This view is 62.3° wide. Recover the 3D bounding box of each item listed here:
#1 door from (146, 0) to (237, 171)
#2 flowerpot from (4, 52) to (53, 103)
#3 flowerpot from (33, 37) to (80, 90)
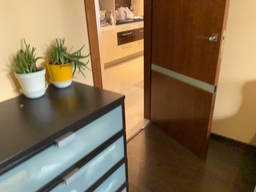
[{"bbox_3d":[0.440,-0.490,1.790,0.040,2.180,0.900,-15,27,-28],"label":"door"},{"bbox_3d":[-0.510,-0.100,1.100,0.140,0.210,0.140,16,30,35],"label":"flowerpot"},{"bbox_3d":[-0.400,-0.190,1.210,0.140,0.250,0.170,16,30,35],"label":"flowerpot"}]
